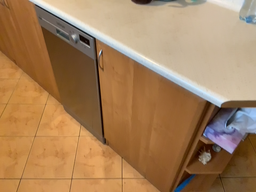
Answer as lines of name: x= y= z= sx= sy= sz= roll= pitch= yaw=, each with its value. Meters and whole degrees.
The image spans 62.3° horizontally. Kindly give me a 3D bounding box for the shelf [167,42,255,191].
shelf: x=0.480 y=0.170 z=1.020 sx=0.170 sy=0.850 sz=0.560 roll=34 pitch=53 yaw=27
